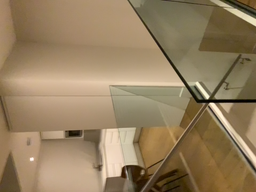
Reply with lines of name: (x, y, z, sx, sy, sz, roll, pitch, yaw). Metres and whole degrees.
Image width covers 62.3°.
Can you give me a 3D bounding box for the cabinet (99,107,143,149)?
cabinet: (-0.210, 0.760, 5.130, 0.530, 0.910, 0.840, -108, 23, -52)
